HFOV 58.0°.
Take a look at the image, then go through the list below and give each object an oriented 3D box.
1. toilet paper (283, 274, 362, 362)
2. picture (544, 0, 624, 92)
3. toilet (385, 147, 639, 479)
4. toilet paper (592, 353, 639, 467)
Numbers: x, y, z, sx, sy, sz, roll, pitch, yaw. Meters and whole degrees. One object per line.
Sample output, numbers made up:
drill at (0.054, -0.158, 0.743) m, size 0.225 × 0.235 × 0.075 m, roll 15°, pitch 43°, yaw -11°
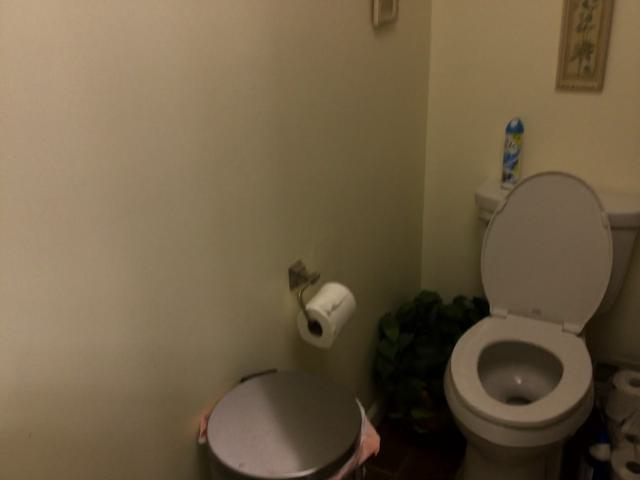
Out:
toilet paper at (0.010, 0.180, 1.370) m, size 0.120 × 0.130 × 0.150 m, roll 10°, pitch 26°, yaw 30°
picture at (0.710, -0.580, 1.550) m, size 0.170 × 0.350 × 0.040 m, roll 10°, pitch 26°, yaw 30°
toilet at (0.580, 0.270, 1.630) m, size 0.490 × 0.870 × 0.760 m, roll 10°, pitch 26°, yaw 30°
toilet paper at (0.950, 0.510, 1.740) m, size 0.180 × 0.180 × 0.280 m, roll 10°, pitch 26°, yaw 30°
